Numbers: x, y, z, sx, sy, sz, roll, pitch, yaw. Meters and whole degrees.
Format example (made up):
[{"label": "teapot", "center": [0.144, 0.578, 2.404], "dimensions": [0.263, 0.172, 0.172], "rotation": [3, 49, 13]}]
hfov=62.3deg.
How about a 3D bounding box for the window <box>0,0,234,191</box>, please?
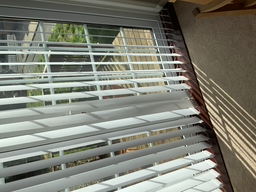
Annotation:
[{"label": "window", "center": [-0.290, 0.130, 1.380], "dimensions": [0.130, 2.150, 1.750], "rotation": [-33, 66, 57]}]
